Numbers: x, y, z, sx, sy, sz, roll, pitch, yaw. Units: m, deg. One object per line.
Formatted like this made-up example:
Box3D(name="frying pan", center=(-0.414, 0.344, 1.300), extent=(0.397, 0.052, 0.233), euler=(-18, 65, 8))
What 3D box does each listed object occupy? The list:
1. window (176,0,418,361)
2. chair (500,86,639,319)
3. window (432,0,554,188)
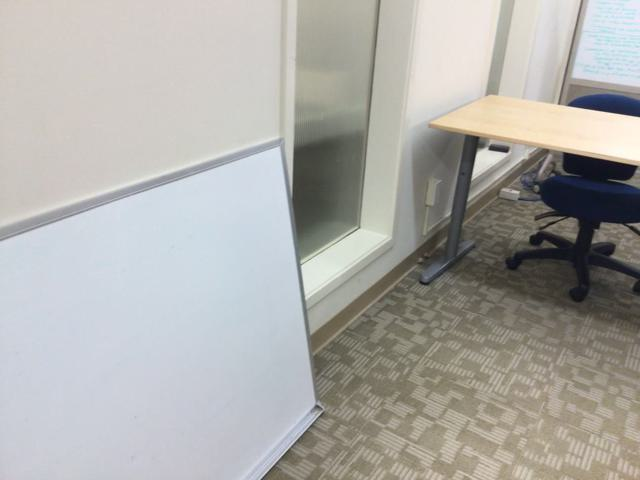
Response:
Box3D(name="window", center=(-0.010, -0.460, 1.870), extent=(0.230, 1.430, 0.910), euler=(17, 30, 31))
Box3D(name="chair", center=(1.220, -0.200, 2.560), extent=(0.560, 0.810, 0.530), euler=(17, 30, 32))
Box3D(name="window", center=(0.970, -1.080, 3.100), extent=(0.260, 1.380, 0.900), euler=(17, 30, 31))
